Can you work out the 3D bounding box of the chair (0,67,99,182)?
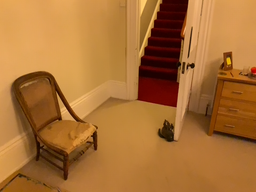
[{"bbox_3d":[-0.670,0.220,1.990,0.590,0.810,0.530,10,25,20],"label":"chair"}]
